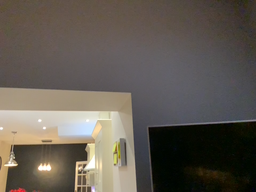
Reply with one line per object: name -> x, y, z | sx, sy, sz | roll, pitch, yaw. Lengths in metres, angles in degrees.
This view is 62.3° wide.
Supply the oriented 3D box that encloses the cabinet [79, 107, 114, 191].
cabinet -> -0.560, 0.900, 3.240 | 0.330, 0.910, 2.140 | 2, -19, -13
